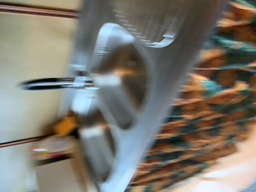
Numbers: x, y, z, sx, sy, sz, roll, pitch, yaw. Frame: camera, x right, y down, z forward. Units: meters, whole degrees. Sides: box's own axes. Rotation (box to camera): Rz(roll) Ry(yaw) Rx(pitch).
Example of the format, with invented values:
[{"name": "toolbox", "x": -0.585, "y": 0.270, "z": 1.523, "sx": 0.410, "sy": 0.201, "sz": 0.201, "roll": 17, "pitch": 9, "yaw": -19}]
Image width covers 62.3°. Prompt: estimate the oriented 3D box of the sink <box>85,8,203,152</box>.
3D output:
[{"name": "sink", "x": 0.010, "y": -0.080, "z": 0.880, "sx": 0.440, "sy": 0.180, "sz": 0.380, "roll": 54, "pitch": 138, "yaw": 38}]
